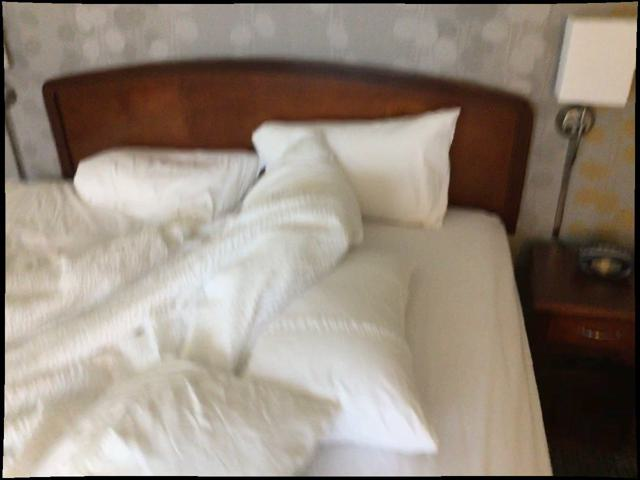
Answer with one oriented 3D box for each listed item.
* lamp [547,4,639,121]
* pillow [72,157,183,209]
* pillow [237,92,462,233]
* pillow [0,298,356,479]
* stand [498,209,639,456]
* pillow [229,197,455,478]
[{"bbox_3d":[0.839,-0.551,1.780,0.190,0.300,0.220,6,29,11],"label":"lamp"},{"bbox_3d":[-0.689,-0.210,2.090,0.330,0.110,0.160,6,29,11],"label":"pillow"},{"bbox_3d":[0.110,-0.280,1.990,0.699,0.350,0.300,6,29,11],"label":"pillow"},{"bbox_3d":[-0.260,0.350,0.970,0.559,0.190,0.510,6,29,11],"label":"pillow"},{"bbox_3d":[0.899,0.290,1.990,0.450,0.580,0.550,6,29,11],"label":"stand"},{"bbox_3d":[0.100,0.150,1.300,0.370,0.200,0.690,6,29,11],"label":"pillow"}]
